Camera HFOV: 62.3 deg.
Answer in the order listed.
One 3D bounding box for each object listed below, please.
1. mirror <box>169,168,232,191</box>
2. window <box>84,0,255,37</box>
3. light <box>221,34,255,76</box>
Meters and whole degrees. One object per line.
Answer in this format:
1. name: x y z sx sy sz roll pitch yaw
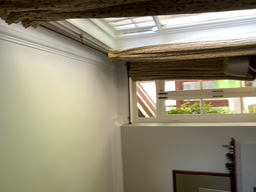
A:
1. mirror: 1.080 1.420 3.200 0.150 0.860 0.580 -16 -77 -75
2. window: 0.620 -0.920 2.260 0.830 1.960 0.160 -2 -90 -75
3. light: 1.410 -0.480 2.590 0.430 0.420 0.450 -18 -75 -75
